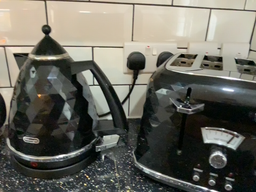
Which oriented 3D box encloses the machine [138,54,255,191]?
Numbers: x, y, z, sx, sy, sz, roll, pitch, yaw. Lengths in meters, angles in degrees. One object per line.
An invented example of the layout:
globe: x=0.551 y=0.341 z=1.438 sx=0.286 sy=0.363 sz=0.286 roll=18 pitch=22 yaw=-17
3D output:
machine: x=0.190 y=0.060 z=0.370 sx=0.290 sy=0.200 sz=0.210 roll=9 pitch=23 yaw=15

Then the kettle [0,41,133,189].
kettle: x=-0.130 y=0.020 z=0.410 sx=0.240 sy=0.220 sz=0.170 roll=-1 pitch=22 yaw=-10
